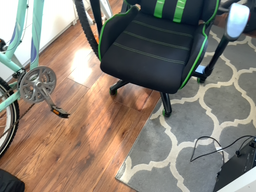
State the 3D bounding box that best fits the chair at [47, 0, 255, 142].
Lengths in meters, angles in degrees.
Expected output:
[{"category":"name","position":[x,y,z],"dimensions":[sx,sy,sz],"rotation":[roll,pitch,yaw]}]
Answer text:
[{"category":"chair","position":[0.160,-0.470,0.960],"dimensions":[0.740,1.260,0.680],"rotation":[20,57,12]}]
